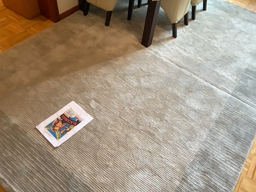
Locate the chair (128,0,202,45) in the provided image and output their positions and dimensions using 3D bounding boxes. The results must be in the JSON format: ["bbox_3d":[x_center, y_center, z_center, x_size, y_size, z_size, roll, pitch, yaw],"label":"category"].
[{"bbox_3d":[0.380,-1.020,1.840,0.510,0.900,0.430,34,56,18],"label":"chair"}]
